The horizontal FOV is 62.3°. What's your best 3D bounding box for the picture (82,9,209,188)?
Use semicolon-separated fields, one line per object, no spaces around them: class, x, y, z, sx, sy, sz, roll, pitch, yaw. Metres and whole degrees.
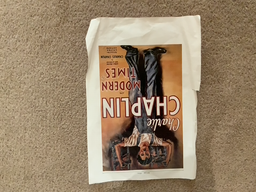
picture;0.030;0.010;0.390;0.220;0.010;0.320;2;93;-3
